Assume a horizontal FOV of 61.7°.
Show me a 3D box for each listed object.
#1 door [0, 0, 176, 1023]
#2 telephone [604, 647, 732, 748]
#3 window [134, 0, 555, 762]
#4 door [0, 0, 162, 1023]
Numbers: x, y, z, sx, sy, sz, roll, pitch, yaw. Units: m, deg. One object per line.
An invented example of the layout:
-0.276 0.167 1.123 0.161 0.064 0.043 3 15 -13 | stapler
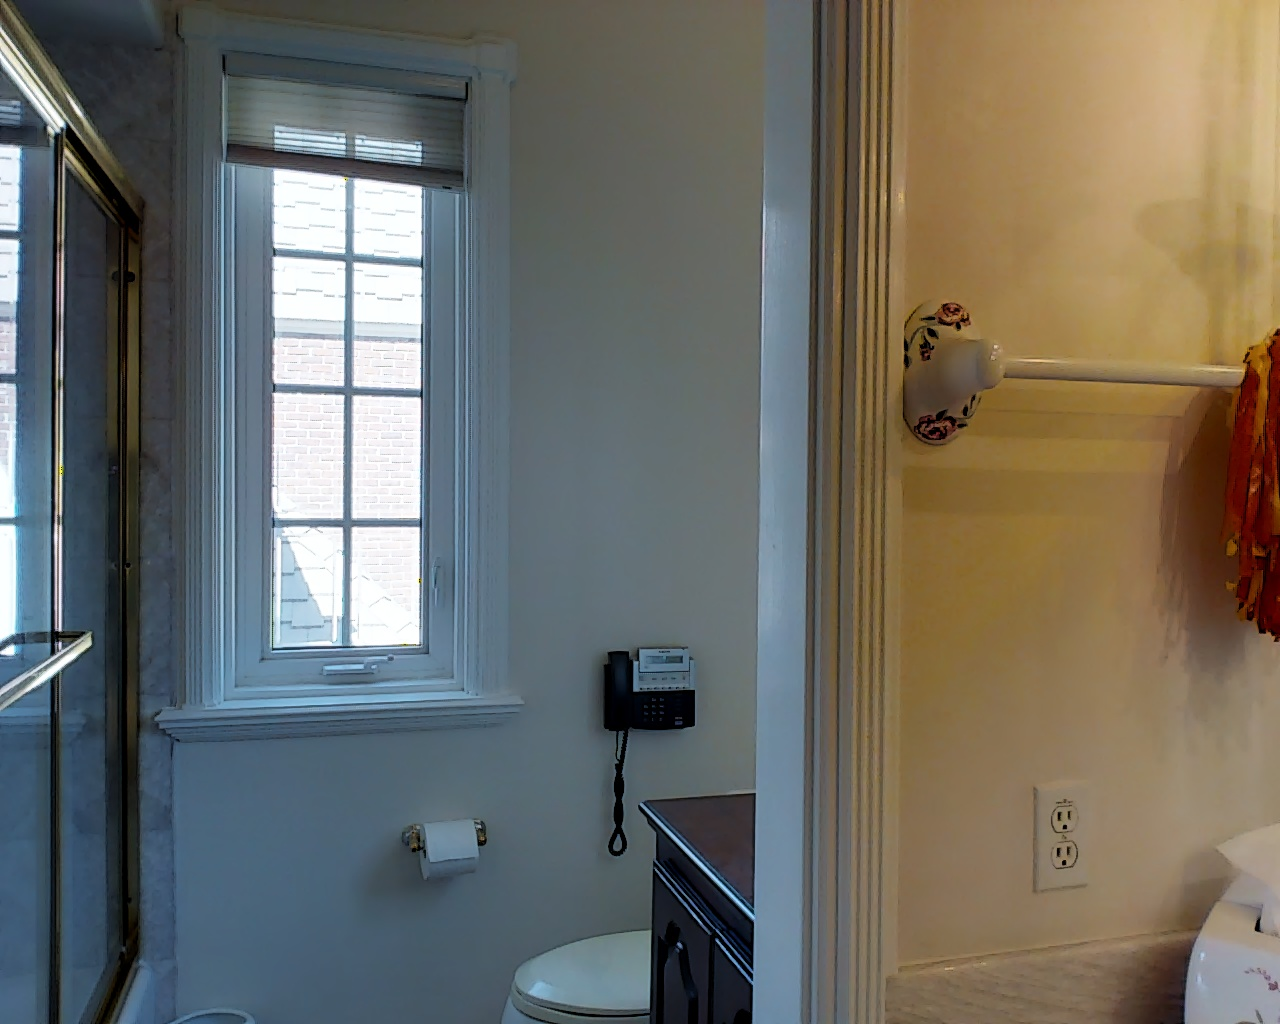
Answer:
-0.900 0.200 1.660 0.160 1.710 1.430 0 2 -17 | door
0.070 0.460 2.680 0.300 0.220 0.100 0 2 -17 | telephone
-0.680 -0.320 2.540 0.910 1.720 0.240 0 2 -17 | window
-0.920 0.080 1.650 0.150 2.120 1.420 0 2 -17 | door
